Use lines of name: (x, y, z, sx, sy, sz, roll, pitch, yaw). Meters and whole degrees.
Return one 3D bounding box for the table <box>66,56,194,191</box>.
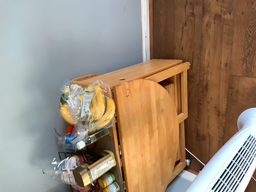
table: (0.090, 0.260, 1.410, 0.380, 0.720, 0.920, 12, 115, 41)
